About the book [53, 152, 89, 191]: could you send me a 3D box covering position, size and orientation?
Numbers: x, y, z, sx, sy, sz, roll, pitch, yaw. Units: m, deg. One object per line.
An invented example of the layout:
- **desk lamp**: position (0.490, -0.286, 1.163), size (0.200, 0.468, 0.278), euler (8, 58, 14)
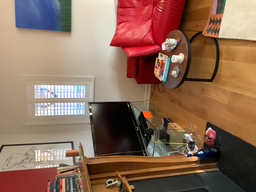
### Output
- **book**: position (-0.370, 0.790, 1.410), size (1.400, 0.250, 0.130), euler (-141, 53, -67)
